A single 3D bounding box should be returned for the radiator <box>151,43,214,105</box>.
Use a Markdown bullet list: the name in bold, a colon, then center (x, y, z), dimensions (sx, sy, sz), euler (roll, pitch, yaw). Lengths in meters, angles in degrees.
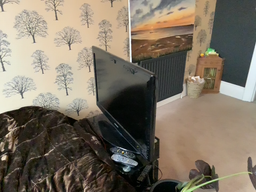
- **radiator**: center (0.850, -0.370, 3.310), dimensions (1.010, 0.740, 0.260), euler (-16, 30, -31)
